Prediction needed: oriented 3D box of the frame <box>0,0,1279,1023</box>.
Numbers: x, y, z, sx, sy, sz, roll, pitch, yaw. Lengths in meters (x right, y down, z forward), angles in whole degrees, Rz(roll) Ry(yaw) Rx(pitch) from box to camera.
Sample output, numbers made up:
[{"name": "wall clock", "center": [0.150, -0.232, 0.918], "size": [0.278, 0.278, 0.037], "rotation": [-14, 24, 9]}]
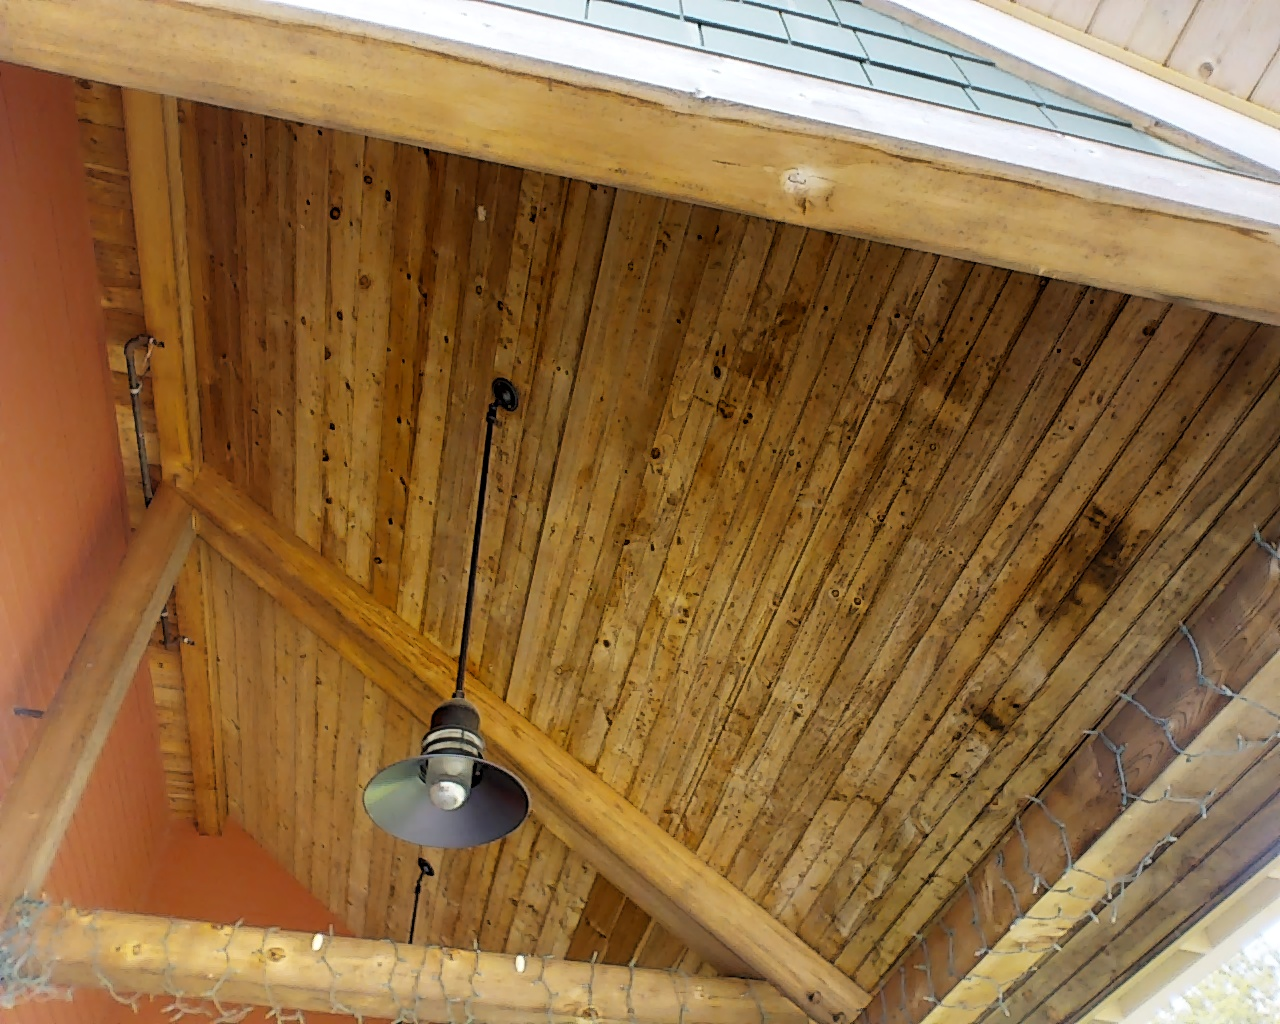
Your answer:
[{"name": "frame", "center": [-0.870, 1.891, 3.920], "size": [3.668, 5.121, 6.001], "rotation": [9, -48, -9]}]

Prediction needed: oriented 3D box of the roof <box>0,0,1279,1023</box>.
[{"name": "roof", "center": [-0.960, 1.961, 4.030], "size": [3.818, 5.201, 6.311], "rotation": [9, -48, -9]}]
